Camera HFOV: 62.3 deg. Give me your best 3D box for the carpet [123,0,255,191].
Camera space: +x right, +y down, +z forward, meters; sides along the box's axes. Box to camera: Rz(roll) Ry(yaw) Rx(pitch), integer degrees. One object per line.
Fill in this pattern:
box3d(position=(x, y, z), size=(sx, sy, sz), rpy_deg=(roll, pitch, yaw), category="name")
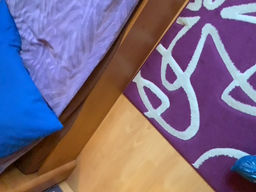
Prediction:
box3d(position=(0.640, -0.220, 0.790), size=(0.760, 0.070, 1.470), rpy_deg=(42, 112, 20), category="carpet")
